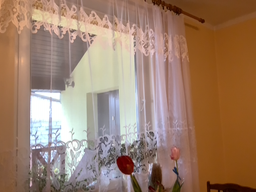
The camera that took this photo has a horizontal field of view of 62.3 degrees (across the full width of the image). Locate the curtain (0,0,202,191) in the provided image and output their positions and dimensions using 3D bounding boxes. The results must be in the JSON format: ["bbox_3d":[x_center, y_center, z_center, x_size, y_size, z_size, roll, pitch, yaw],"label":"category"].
[{"bbox_3d":[-0.170,0.300,1.470,1.880,2.730,0.250,2,-6,-38],"label":"curtain"}]

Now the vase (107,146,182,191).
[{"bbox_3d":[0.090,0.600,1.060,0.320,0.630,0.200,2,-6,-37],"label":"vase"}]
